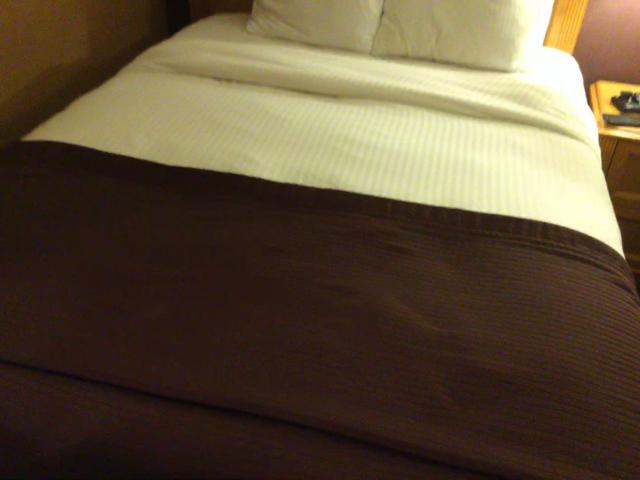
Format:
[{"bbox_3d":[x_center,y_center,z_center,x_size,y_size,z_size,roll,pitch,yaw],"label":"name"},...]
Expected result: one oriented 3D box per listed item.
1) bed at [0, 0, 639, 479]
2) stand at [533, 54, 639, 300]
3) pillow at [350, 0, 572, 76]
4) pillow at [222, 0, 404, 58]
[{"bbox_3d":[-0.070,-0.190,1.600,1.850,1.350,2.100,11,35,15],"label":"bed"},{"bbox_3d":[1.210,-0.210,2.070,0.700,0.700,0.500,11,35,15],"label":"stand"},{"bbox_3d":[0.480,-0.830,1.930,0.660,0.380,0.390,11,35,15],"label":"pillow"},{"bbox_3d":[-0.020,-0.880,2.000,0.590,0.370,0.250,11,35,15],"label":"pillow"}]
